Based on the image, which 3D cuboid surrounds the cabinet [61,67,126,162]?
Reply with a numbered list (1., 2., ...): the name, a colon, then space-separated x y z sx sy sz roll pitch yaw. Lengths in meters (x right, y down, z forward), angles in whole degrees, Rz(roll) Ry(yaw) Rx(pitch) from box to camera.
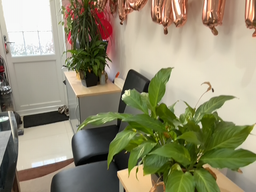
1. cabinet: -0.460 0.130 2.590 0.540 0.750 1.030 -7 21 -20
